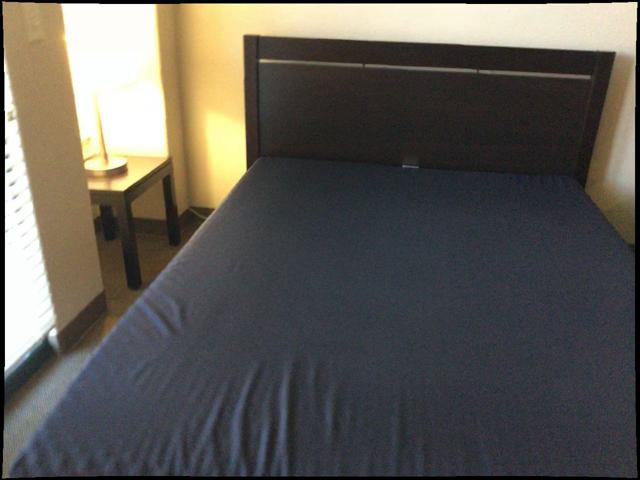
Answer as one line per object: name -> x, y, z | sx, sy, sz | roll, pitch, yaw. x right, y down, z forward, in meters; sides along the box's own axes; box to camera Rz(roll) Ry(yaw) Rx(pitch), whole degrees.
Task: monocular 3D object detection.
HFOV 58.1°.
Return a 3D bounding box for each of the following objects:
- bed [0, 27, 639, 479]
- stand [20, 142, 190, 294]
bed -> 0.249, -0.010, 1.920 | 1.676, 1.062, 2.231 | 4, 26, 6
stand -> -0.987, -0.140, 2.800 | 0.439, 0.461, 0.720 | 4, 26, 7
